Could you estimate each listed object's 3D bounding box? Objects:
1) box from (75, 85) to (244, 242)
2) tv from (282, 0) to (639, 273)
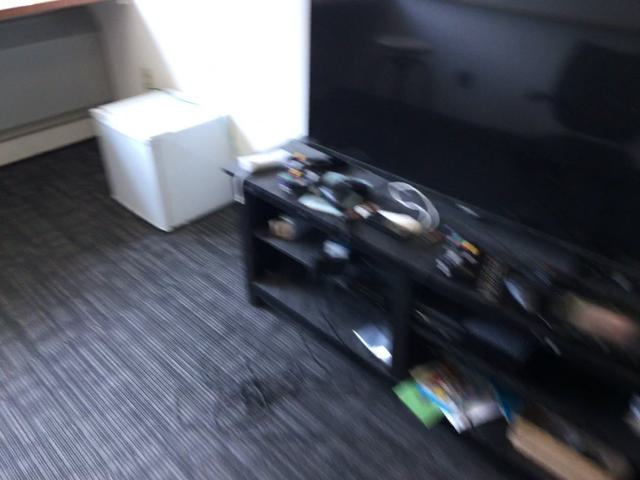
[{"bbox_3d":[-0.750,-0.390,2.730,0.440,0.540,0.590,-27,33,-36],"label":"box"},{"bbox_3d":[0.380,-0.360,1.370,0.090,0.790,1.200,-28,26,-35],"label":"tv"}]
